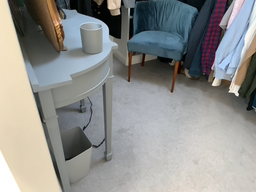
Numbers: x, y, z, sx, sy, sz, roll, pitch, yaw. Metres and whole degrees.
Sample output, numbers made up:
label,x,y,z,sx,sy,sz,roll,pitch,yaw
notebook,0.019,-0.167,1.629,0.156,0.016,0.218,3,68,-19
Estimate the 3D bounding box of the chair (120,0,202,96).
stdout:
label,x,y,z,sx,sy,sz,roll,pitch,yaw
chair,0.290,-0.490,1.960,0.540,0.690,0.520,16,38,16
